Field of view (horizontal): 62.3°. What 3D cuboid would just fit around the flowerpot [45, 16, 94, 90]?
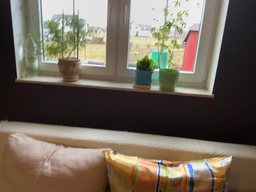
[{"bbox_3d":[-0.440,-0.330,1.640,0.290,0.510,0.210,6,18,4],"label":"flowerpot"}]

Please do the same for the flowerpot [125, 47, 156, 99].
[{"bbox_3d":[0.100,-0.190,1.680,0.190,0.350,0.230,7,18,7],"label":"flowerpot"}]

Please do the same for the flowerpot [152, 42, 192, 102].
[{"bbox_3d":[0.330,-0.200,1.650,0.230,0.400,0.260,7,18,7],"label":"flowerpot"}]

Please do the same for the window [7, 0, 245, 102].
[{"bbox_3d":[-0.050,-0.780,1.610,1.750,1.490,0.170,6,18,5],"label":"window"}]
